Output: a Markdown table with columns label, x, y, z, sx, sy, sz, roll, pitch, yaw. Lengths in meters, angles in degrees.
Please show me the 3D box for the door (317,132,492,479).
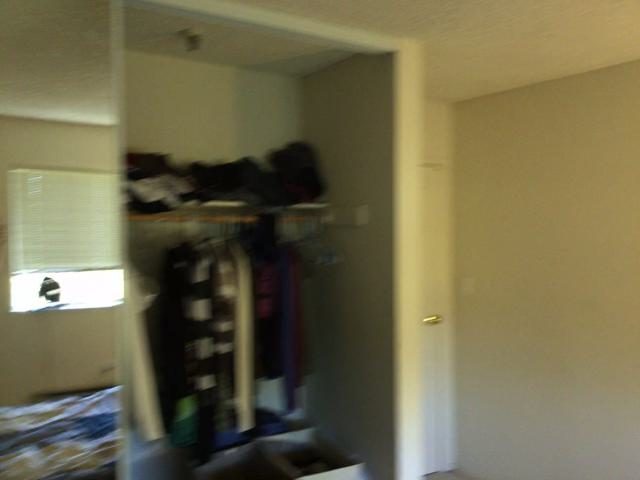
| label | x | y | z | sx | sy | sz | roll | pitch | yaw |
| --- | --- | --- | --- | --- | --- | --- | --- | --- | --- |
| door | 0.510 | 0.460 | 3.460 | 0.980 | 2.090 | 0.290 | 0 | -4 | -25 |
